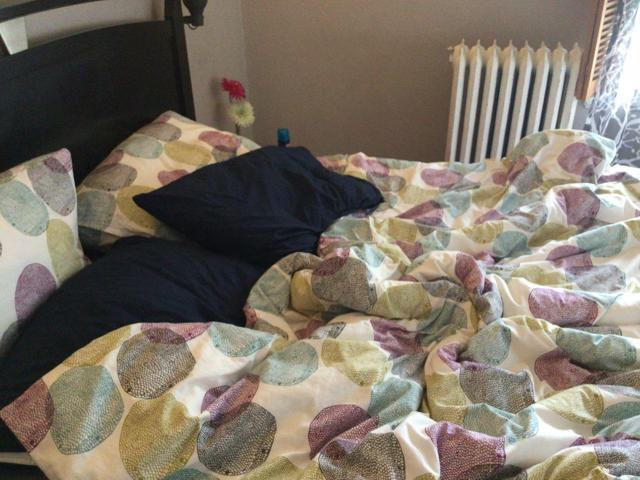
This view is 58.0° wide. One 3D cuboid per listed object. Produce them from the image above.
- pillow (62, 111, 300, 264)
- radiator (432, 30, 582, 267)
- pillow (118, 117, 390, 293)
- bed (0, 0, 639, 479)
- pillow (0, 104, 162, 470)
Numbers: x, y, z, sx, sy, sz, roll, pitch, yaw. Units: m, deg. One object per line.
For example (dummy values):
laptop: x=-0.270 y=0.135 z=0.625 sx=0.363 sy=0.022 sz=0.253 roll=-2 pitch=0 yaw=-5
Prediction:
pillow: x=-0.350 y=-0.190 z=1.690 sx=0.420 sy=0.170 sz=0.660 roll=3 pitch=30 yaw=12
radiator: x=0.770 y=-0.380 z=2.510 sx=0.510 sy=0.950 sz=0.290 roll=4 pitch=31 yaw=15
pillow: x=-0.140 y=-0.140 z=1.570 sx=0.410 sy=0.160 sz=0.640 roll=15 pitch=35 yaw=30
bed: x=0.350 y=0.150 z=1.210 sx=2.280 sy=1.250 sz=1.820 roll=4 pitch=31 yaw=15
pillow: x=-0.650 y=0.090 z=1.120 sx=0.240 sy=0.480 sz=0.780 roll=4 pitch=31 yaw=15
